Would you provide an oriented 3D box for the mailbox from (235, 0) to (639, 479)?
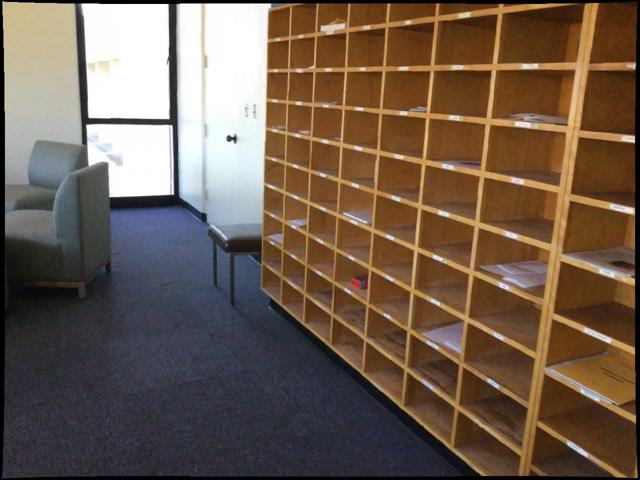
[{"bbox_3d":[0.977,0.010,1.630,0.589,1.965,4.807,-5,16,-30],"label":"mailbox"}]
